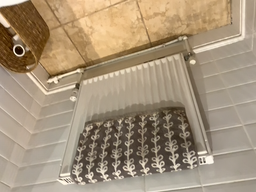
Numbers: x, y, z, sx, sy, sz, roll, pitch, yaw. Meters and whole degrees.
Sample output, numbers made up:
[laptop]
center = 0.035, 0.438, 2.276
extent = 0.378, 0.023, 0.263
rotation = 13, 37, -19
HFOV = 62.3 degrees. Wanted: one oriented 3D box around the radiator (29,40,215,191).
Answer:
[radiator]
center = -0.050, 0.060, 1.000
extent = 0.700, 0.640, 0.090
rotation = -15, 135, 15
